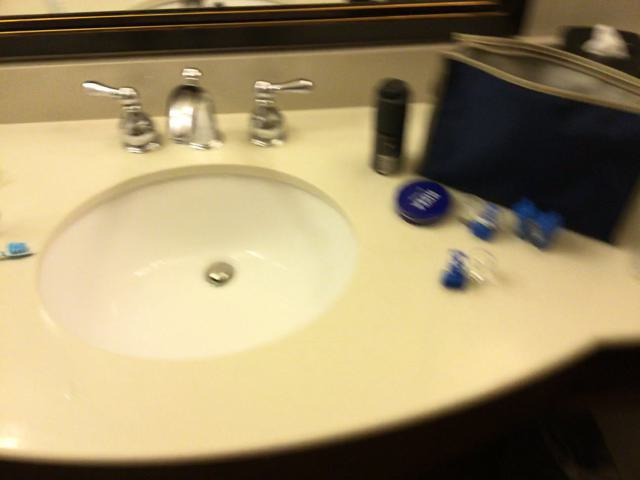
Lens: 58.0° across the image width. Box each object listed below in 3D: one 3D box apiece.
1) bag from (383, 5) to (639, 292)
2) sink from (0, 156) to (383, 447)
[{"bbox_3d":[0.290,-0.140,0.780,0.310,0.190,0.240,33,53,28],"label":"bag"},{"bbox_3d":[-0.160,0.070,0.830,0.430,0.180,0.350,-4,45,-4],"label":"sink"}]
